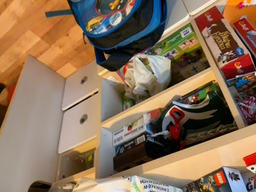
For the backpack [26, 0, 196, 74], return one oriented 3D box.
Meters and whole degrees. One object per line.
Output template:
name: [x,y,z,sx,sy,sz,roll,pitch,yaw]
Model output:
backpack: [-0.050,-0.370,0.760,0.380,0.280,0.380,-30,134,27]
